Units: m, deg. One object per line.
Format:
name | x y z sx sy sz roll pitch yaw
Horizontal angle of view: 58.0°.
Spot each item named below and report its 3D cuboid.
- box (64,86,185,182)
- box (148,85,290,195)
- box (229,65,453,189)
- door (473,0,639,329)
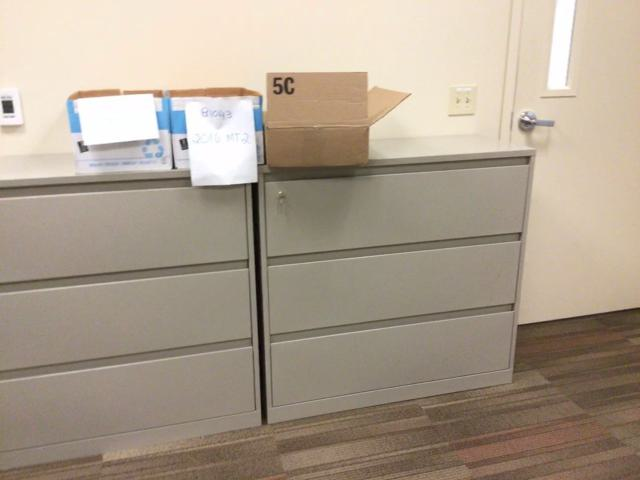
box | -0.650 -0.370 1.940 0.320 0.270 0.500 -5 15 -18
box | -0.370 -0.370 2.040 0.410 0.330 0.470 -5 15 -18
box | 0.040 -0.420 2.080 0.620 0.360 0.590 -5 15 -18
door | 1.180 -0.760 2.650 0.710 2.310 0.330 -2 14 -11
